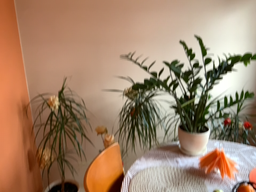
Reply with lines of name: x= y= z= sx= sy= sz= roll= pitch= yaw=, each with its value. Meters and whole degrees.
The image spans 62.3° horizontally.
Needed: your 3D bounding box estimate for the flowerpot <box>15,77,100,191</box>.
flowerpot: x=-0.520 y=0.470 z=1.800 sx=0.500 sy=1.180 sz=0.390 roll=-4 pitch=17 yaw=-8
